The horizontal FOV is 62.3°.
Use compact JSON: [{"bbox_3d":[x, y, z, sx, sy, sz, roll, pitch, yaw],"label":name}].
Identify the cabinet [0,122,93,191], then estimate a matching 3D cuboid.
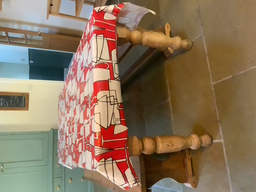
[{"bbox_3d":[-1.750,1.210,3.820,0.590,2.080,1.350,148,121,-61],"label":"cabinet"}]
